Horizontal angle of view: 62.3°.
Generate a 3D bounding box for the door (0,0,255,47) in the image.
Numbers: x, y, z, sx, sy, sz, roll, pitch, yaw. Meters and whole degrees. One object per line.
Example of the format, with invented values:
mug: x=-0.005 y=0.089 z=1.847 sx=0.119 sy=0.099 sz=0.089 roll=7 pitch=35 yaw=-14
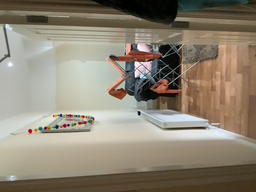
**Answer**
door: x=0.330 y=-0.510 z=1.620 sx=0.750 sy=2.120 sz=0.150 roll=-133 pitch=44 yaw=-76
